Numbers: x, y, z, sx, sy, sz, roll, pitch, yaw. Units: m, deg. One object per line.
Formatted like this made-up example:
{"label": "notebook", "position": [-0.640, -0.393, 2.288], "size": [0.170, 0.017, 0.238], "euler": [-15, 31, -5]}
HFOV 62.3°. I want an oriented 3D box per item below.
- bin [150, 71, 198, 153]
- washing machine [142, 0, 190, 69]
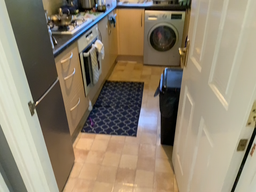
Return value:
{"label": "bin", "position": [0.390, 0.140, 1.910], "size": [0.330, 0.620, 0.360], "euler": [4, 32, 8]}
{"label": "washing machine", "position": [0.600, -1.020, 3.480], "size": [0.650, 0.930, 0.650], "euler": [4, 32, 9]}
